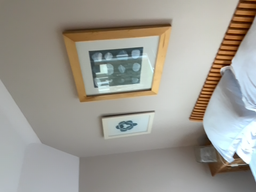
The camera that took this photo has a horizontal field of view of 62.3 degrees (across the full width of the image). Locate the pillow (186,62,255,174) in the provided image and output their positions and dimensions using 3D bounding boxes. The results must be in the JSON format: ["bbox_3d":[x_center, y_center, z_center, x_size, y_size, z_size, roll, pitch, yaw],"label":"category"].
[{"bbox_3d":[0.750,0.210,1.620,0.820,0.300,0.460,92,172,-52],"label":"pillow"}]
